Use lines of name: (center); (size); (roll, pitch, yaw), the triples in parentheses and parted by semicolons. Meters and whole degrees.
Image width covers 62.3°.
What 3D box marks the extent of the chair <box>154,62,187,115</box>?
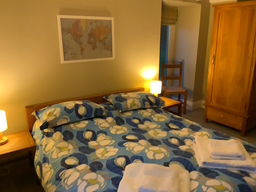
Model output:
chair: (0.800, -0.160, 4.160); (0.460, 0.930, 0.490); (0, 17, -3)
